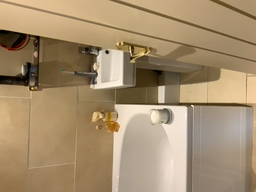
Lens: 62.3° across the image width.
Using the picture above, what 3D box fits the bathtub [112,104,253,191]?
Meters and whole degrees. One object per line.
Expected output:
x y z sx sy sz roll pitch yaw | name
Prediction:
0.310 0.890 1.430 0.740 0.570 1.650 -2 86 58 | bathtub

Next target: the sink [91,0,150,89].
-0.070 -0.320 1.410 0.450 0.180 0.510 -2 86 58 | sink
